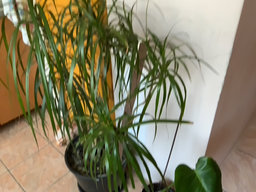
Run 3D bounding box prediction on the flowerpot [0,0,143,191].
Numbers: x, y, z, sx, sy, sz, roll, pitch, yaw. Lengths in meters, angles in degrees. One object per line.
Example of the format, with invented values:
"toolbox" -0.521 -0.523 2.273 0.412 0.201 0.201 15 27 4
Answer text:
"flowerpot" -0.210 0.030 0.950 0.420 1.260 0.330 29 46 35
